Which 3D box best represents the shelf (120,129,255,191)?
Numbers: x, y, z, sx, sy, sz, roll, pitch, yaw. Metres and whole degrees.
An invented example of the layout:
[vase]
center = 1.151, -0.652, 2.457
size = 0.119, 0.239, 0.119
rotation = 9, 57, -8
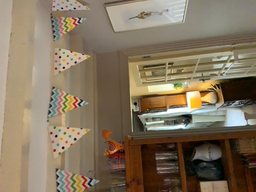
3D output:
[shelf]
center = 0.980, 0.770, 1.650
size = 0.360, 2.020, 0.980
rotation = 58, -151, -74
